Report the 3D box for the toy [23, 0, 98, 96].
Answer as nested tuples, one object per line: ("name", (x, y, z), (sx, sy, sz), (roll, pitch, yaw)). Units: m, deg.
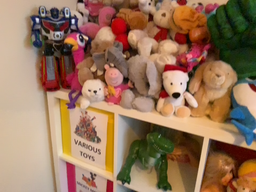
("toy", (-0.290, -0.240, 1.000), (0.130, 0.390, 0.310), (13, 23, 25))
